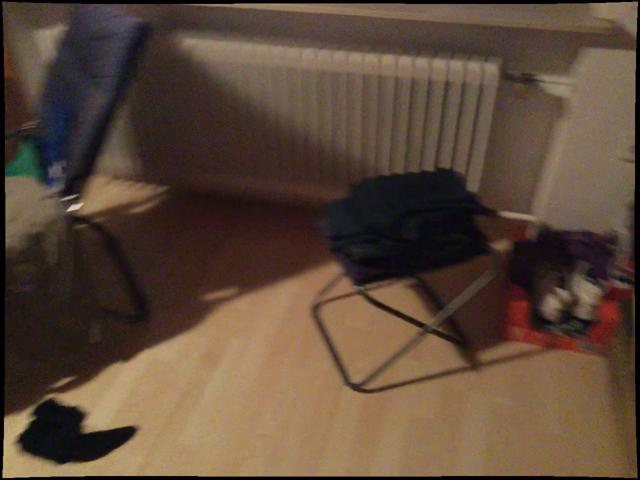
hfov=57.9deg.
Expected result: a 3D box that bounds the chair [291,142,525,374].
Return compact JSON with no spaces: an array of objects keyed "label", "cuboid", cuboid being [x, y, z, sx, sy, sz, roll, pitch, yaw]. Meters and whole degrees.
[{"label":"chair","cuboid":[0.220,0.040,1.650,0.500,0.410,0.400,-11,41,-9]}]

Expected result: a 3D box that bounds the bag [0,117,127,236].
[{"label":"bag","cuboid":[-0.909,-0.210,1.780,0.480,0.180,0.310,8,41,14]}]

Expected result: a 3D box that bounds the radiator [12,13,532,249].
[{"label":"radiator","cuboid":[-0.190,-0.410,2.090,1.708,0.650,0.250,8,41,14]}]

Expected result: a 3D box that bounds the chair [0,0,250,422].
[{"label":"chair","cuboid":[-0.889,-0.140,1.640,1.029,0.891,0.770,-24,44,-22]}]
